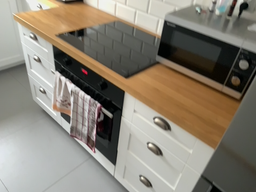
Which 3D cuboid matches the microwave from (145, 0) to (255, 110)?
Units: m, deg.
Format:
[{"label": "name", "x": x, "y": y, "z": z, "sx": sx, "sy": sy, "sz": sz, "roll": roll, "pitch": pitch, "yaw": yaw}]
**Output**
[{"label": "microwave", "x": 0.400, "y": -0.240, "z": 1.020, "sx": 0.520, "sy": 0.290, "sz": 0.310, "roll": 33, "pitch": 44, "yaw": 29}]
